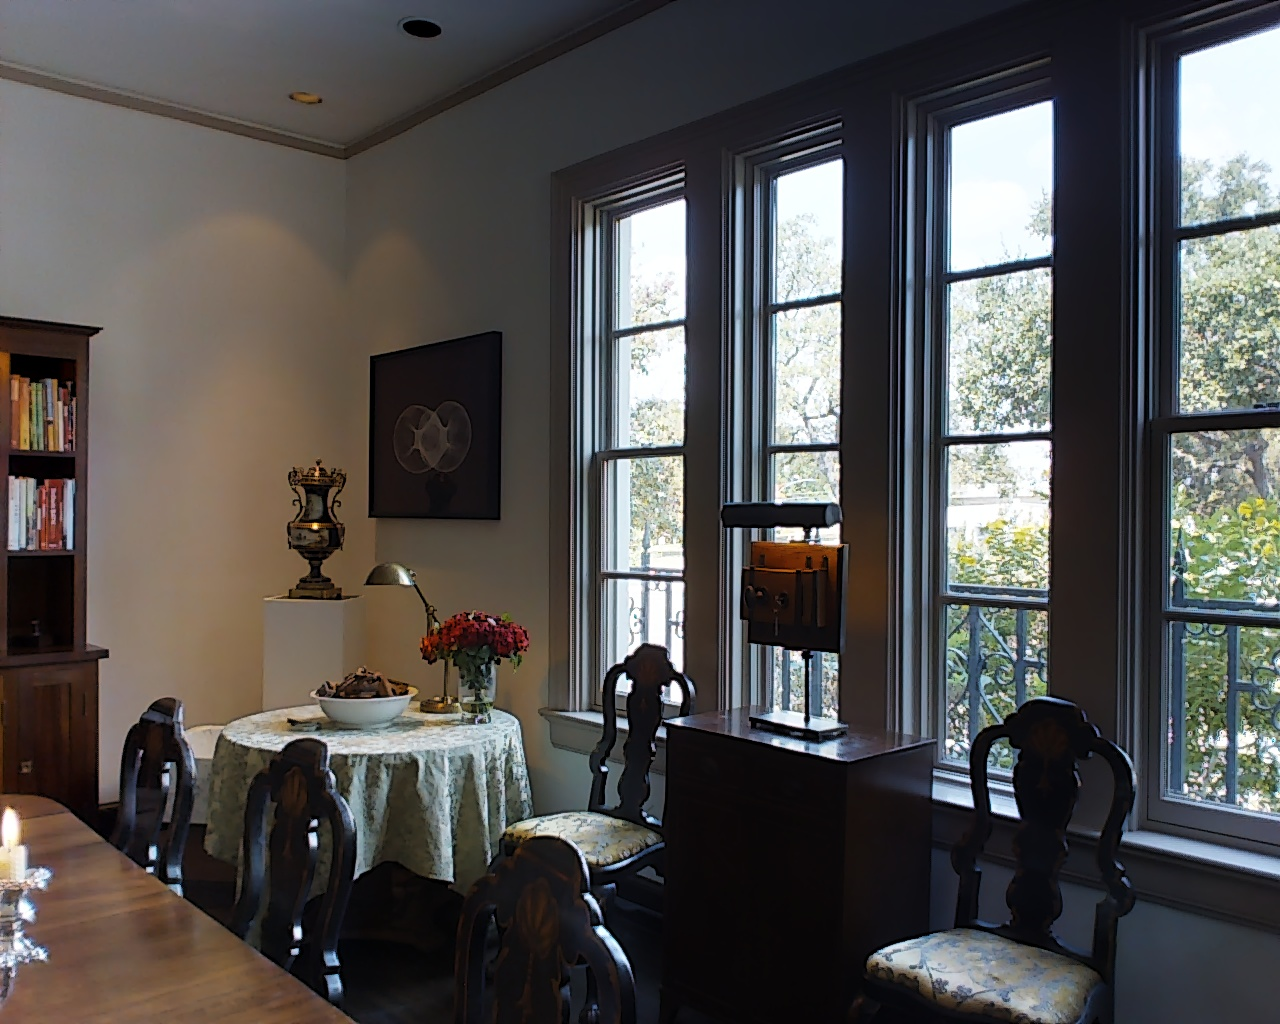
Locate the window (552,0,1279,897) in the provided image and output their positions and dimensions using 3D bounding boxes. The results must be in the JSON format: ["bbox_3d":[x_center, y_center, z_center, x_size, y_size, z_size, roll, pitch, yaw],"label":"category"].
[{"bbox_3d":[0.730,-0.260,3.250,0.230,2.180,2.920,0,1,-42],"label":"window"}]

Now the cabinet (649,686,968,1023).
[{"bbox_3d":[0.460,1.020,3.020,0.520,0.910,0.710,0,1,-42],"label":"cabinet"}]
